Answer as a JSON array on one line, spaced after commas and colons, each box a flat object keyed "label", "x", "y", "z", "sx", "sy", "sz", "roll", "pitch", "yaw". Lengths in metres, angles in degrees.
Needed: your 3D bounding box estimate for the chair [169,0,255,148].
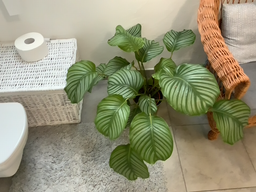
[{"label": "chair", "x": 0.750, "y": -0.230, "z": 1.310, "sx": 0.710, "sy": 0.870, "sz": 0.670, "roll": -8, "pitch": 51, "yaw": -5}]
